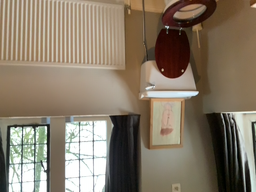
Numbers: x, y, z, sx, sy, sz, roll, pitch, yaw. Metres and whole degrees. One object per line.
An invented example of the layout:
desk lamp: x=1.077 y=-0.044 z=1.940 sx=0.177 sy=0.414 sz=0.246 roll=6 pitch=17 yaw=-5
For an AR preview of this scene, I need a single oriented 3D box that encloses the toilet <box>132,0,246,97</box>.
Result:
toilet: x=0.420 y=-0.520 z=1.760 sx=0.560 sy=0.980 sz=0.730 roll=-1 pitch=174 yaw=-15
